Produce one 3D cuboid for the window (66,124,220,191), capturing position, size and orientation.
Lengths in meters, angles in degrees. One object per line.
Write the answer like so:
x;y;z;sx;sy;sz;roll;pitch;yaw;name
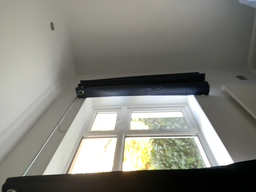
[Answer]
0.120;0.650;2.080;1.300;1.230;0.070;-85;-8;-68;window
